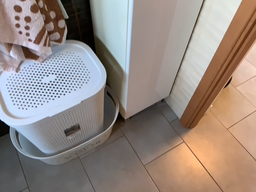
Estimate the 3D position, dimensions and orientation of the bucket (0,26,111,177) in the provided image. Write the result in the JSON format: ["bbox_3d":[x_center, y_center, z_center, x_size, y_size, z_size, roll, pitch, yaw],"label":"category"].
[{"bbox_3d":[-0.360,0.070,1.070,0.420,0.630,0.350,-25,62,-18],"label":"bucket"}]
